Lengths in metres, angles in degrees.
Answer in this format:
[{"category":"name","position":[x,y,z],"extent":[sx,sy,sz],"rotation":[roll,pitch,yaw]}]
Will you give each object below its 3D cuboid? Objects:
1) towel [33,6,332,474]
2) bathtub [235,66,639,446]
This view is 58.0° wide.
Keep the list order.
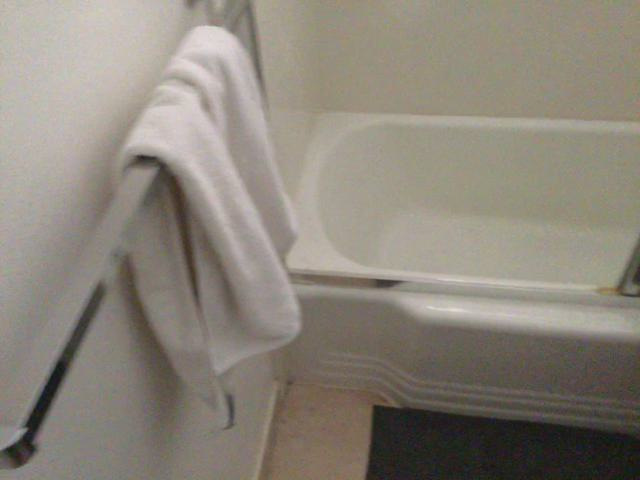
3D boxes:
[{"category":"towel","position":[-0.090,0.010,0.640],"extent":[0.140,0.410,0.310],"rotation":[4,45,10]},{"category":"bathtub","position":[0.430,-0.010,1.490],"extent":[1.040,0.510,0.800],"rotation":[4,45,10]}]
